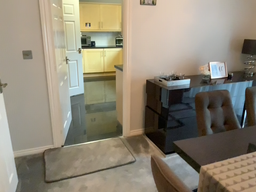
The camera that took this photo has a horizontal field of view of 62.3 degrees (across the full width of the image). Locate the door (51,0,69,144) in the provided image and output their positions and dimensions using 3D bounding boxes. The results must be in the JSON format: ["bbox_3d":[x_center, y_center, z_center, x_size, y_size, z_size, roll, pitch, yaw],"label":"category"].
[{"bbox_3d":[-0.910,-0.430,2.890,0.020,1.960,0.830,-2,18,-10],"label":"door"}]
